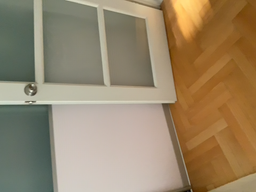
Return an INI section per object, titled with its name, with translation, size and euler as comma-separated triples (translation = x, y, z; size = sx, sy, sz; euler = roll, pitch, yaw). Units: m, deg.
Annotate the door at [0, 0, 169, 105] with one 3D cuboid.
[door]
translation = -0.550, -0.380, 1.300
size = 0.110, 1.870, 0.860
euler = -24, 69, 56
